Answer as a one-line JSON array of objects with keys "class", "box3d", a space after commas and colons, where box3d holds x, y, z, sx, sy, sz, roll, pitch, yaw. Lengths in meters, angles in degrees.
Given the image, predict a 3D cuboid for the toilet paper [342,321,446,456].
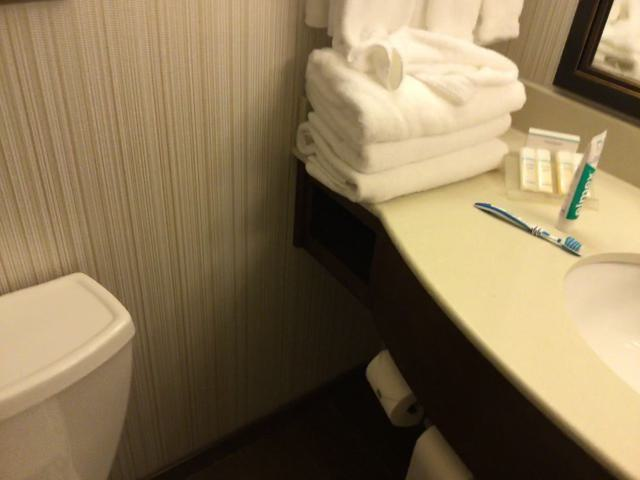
[{"class": "toilet paper", "box3d": [0.130, 0.270, 1.060, 0.080, 0.170, 0.150, -19, 43, -33]}]
